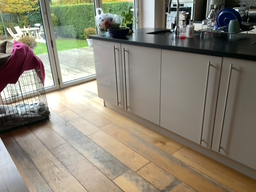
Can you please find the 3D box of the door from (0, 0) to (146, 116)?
[{"bbox_3d":[-1.340,-1.020,2.820,4.450,2.380,0.130,-21,30,-37],"label":"door"}]
